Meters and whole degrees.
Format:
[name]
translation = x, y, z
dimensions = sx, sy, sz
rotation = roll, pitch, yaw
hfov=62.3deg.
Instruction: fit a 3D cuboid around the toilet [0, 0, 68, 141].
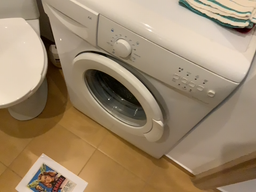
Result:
[toilet]
translation = -0.580, -0.250, 1.000
dimensions = 0.380, 0.730, 0.670
rotation = -11, 64, -13
